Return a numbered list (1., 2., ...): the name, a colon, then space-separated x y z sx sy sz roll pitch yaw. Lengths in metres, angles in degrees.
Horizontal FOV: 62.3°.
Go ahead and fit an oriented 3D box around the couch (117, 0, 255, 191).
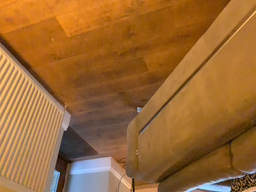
1. couch: 0.780 0.120 1.360 1.150 0.780 1.680 15 139 -18
